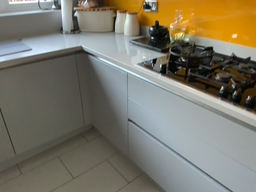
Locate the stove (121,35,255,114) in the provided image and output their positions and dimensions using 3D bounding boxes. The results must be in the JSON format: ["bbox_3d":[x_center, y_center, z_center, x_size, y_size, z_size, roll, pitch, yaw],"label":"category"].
[{"bbox_3d":[0.520,-0.160,1.130,0.600,0.060,1.050,-21,35,-33],"label":"stove"}]
